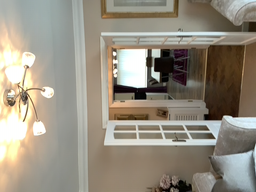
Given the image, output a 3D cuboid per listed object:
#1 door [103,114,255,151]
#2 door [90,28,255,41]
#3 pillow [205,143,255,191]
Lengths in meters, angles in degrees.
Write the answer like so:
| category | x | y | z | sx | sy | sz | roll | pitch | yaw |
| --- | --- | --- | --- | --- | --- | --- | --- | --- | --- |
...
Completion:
| category | x | y | z | sx | sy | sz | roll | pitch | yaw |
| --- | --- | --- | --- | --- | --- | --- | --- | --- | --- |
| door | 0.660 | 0.460 | 2.890 | 0.840 | 1.920 | 0.080 | -94 | 3 | -71 |
| door | 0.600 | -0.780 | 2.720 | 0.730 | 2.050 | 0.090 | -96 | 5 | -78 |
| pillow | 1.010 | 0.750 | 2.070 | 0.140 | 0.400 | 0.440 | 127 | 165 | -69 |
